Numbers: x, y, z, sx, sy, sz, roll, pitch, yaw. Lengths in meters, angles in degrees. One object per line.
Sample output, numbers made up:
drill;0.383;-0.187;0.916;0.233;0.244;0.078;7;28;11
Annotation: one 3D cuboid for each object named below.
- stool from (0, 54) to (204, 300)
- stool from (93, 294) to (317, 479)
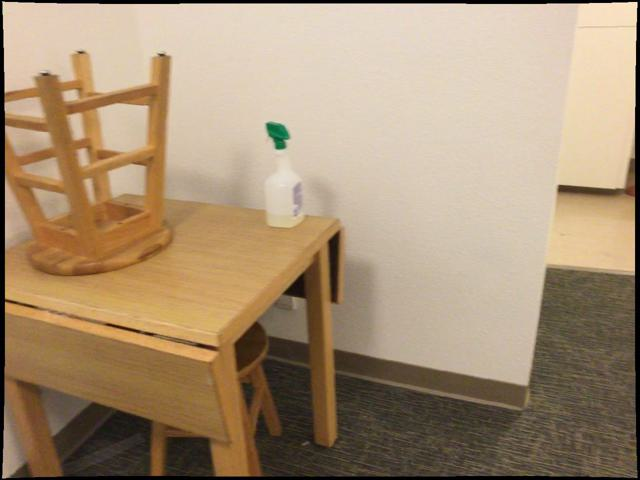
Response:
stool;-0.638;-0.190;1.480;0.469;0.491;0.390;7;28;20
stool;-0.299;0.511;1.720;0.419;0.471;0.460;7;28;20
